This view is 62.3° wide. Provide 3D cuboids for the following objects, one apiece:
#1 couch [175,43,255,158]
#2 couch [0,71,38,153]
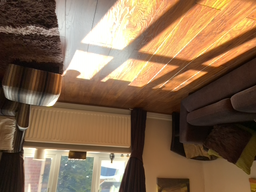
[{"bbox_3d":[1.350,0.130,2.010,0.970,0.780,1.930,8,161,-14],"label":"couch"},{"bbox_3d":[-1.590,0.230,2.620,0.750,0.820,0.840,10,160,-20],"label":"couch"}]
